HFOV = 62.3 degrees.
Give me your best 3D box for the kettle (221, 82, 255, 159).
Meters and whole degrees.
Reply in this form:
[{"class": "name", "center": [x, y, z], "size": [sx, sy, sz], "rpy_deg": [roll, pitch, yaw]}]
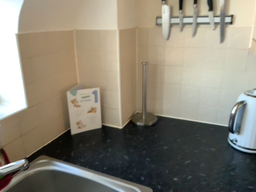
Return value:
[{"class": "kettle", "center": [0.530, 0.100, 0.960], "size": [0.170, 0.270, 0.210], "rpy_deg": [7, 21, 22]}]
